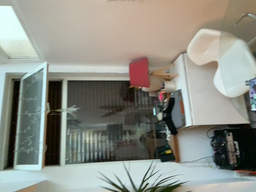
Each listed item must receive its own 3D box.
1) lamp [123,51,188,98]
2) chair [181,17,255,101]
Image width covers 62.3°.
[{"bbox_3d":[0.260,-0.210,2.330,0.550,0.550,0.330,123,145,-73],"label":"lamp"},{"bbox_3d":[0.940,-0.280,1.800,0.450,0.770,0.530,118,150,-70],"label":"chair"}]
